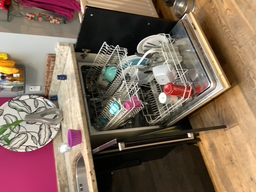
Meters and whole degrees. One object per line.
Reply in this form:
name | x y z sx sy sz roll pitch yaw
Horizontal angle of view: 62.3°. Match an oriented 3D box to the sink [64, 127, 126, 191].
sink | -0.260 0.530 1.480 0.480 0.240 0.450 -53 46 51
